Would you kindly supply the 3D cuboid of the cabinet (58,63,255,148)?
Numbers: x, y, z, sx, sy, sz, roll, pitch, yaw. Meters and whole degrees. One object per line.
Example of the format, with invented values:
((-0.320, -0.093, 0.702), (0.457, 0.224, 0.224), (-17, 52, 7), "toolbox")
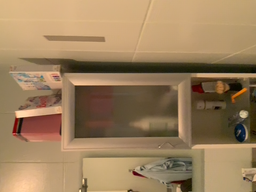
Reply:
((0.650, 0.050, 1.000), (0.310, 1.840, 0.320), (147, 123, -87), "cabinet")
